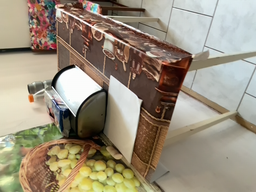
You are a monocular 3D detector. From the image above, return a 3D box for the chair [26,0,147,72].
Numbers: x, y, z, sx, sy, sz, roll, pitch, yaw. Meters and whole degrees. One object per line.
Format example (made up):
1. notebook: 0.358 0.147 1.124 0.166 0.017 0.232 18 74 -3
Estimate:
1. chair: -0.330 -0.540 1.710 0.480 0.780 0.450 38 130 43
